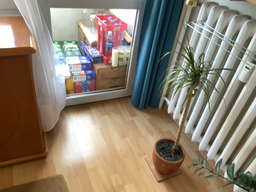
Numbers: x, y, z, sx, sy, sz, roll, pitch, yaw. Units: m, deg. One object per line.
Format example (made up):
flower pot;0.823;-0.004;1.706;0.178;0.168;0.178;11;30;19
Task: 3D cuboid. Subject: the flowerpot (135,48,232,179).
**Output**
flowerpot;0.290;0.140;1.380;0.250;0.820;0.330;-5;40;-20
